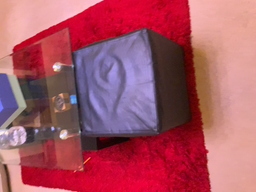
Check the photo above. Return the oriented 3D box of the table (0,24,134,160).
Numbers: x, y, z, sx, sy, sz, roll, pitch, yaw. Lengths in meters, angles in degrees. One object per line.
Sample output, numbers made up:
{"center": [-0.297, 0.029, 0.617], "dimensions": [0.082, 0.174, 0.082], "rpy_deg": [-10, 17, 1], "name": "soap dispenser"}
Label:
{"center": [-0.530, 0.040, 1.350], "dimensions": [1.010, 0.400, 0.590], "rpy_deg": [-9, 86, 33], "name": "table"}
